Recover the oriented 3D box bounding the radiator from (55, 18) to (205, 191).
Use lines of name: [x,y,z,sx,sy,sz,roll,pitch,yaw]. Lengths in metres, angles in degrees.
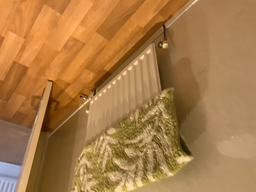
radiator: [-0.090,0.130,1.190,0.140,0.800,0.870,27,133,-33]
